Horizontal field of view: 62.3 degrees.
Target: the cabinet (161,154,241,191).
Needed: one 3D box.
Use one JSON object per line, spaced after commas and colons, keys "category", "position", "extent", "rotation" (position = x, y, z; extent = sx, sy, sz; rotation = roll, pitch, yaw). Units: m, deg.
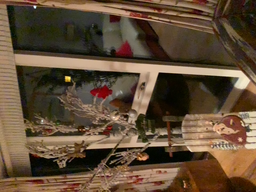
{"category": "cabinet", "position": [0.720, 1.030, 2.210], "extent": [0.490, 0.420, 0.710], "rotation": [-107, 25, -47]}
